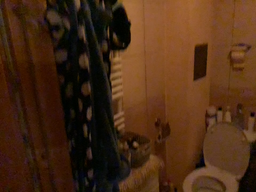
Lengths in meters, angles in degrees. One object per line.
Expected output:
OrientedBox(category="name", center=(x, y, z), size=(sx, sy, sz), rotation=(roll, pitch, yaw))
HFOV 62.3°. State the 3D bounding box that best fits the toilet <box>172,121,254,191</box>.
OrientedBox(category="toilet", center=(0.670, 0.710, 1.690), size=(0.400, 0.810, 0.570), rotation=(11, 21, 39))
